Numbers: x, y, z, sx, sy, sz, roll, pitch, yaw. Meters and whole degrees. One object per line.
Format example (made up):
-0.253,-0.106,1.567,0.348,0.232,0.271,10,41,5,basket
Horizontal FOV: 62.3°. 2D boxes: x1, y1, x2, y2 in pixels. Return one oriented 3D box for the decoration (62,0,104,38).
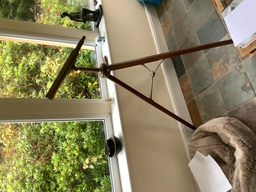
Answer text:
-0.570,-0.970,2.630,0.410,0.430,0.190,128,137,-52,decoration
